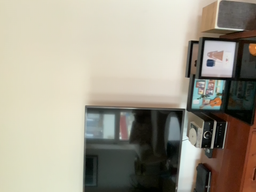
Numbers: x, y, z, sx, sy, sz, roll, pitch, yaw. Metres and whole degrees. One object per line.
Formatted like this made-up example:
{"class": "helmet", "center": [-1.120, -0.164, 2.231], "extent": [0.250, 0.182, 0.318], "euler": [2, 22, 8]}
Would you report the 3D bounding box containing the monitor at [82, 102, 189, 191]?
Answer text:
{"class": "monitor", "center": [0.030, 0.680, 1.610], "extent": [0.070, 0.740, 1.250], "euler": [-125, 38, -78]}
